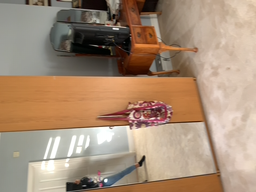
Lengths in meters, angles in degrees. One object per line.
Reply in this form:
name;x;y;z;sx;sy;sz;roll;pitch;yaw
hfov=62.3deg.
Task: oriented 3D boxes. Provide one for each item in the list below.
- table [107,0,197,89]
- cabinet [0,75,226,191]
table;0.210;-0.800;2.790;0.760;0.750;1.170;114;150;-56
cabinet;-0.200;0.610;2.080;0.620;2.000;1.510;125;140;-64
